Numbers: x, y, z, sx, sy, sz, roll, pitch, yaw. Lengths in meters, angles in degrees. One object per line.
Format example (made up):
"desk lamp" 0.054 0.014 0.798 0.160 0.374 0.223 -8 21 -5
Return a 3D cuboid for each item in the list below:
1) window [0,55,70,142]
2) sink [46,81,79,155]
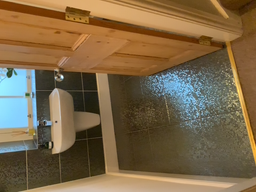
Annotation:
"window" -1.470 0.020 2.460 0.170 1.480 1.000 -29 66 55
"sink" -0.680 0.240 2.160 0.450 0.170 0.660 -28 67 55
